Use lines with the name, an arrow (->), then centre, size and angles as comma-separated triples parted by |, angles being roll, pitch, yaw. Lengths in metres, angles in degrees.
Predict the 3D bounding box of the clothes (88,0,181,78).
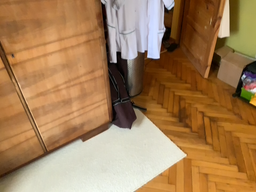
clothes -> 0.060, -0.710, 1.720 | 0.710, 1.010, 0.240 | -17, 42, -18
